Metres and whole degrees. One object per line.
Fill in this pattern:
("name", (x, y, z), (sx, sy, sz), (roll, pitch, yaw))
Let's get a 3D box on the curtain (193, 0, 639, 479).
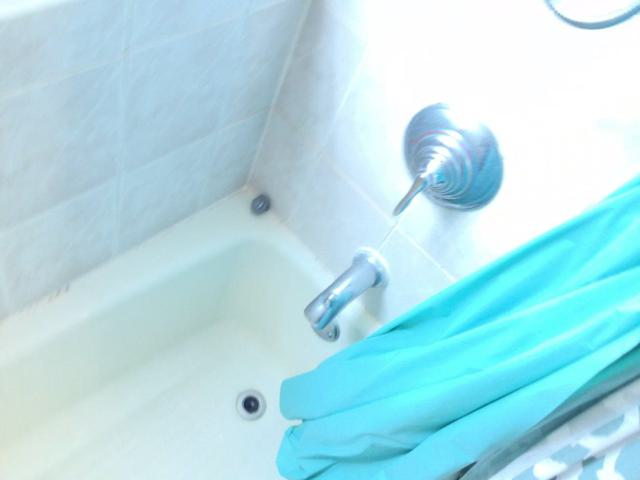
("curtain", (0.320, 0.060, 0.530), (0.510, 1.840, 0.350), (45, 52, 13))
